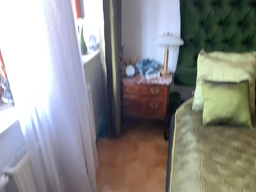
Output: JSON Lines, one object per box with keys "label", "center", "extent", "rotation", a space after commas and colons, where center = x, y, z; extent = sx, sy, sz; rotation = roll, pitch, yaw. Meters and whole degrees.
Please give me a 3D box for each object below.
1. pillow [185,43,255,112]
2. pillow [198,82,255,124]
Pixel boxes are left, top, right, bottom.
{"label": "pillow", "center": [0.950, -0.170, 2.060], "extent": [0.660, 0.590, 0.250], "rotation": [4, 41, 7]}
{"label": "pillow", "center": [0.900, 0.050, 1.900], "extent": [0.440, 0.250, 0.280], "rotation": [3, 28, 6]}
